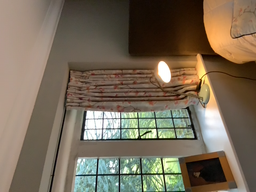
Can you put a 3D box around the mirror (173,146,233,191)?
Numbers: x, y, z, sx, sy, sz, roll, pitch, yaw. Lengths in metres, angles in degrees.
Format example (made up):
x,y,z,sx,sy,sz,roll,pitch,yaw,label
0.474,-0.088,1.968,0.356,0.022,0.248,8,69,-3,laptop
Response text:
x,y,z,sx,sy,sz,roll,pitch,yaw,label
0.520,0.540,1.520,0.130,0.310,0.260,78,177,-54,mirror
